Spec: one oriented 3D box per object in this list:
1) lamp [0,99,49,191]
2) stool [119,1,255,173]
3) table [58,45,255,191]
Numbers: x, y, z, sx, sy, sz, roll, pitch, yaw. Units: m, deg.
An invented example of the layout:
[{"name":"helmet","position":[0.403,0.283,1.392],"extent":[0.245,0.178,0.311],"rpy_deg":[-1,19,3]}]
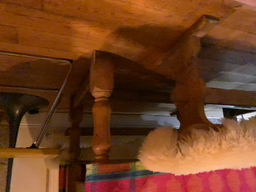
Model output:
[{"name":"lamp","position":[-0.900,0.910,1.500],"extent":[0.530,1.700,0.500],"rpy_deg":[4,162,-21]},{"name":"stool","position":[0.740,0.040,1.090],"extent":[1.500,0.560,0.390],"rpy_deg":[4,162,-21]},{"name":"table","position":[0.400,0.320,1.610],"extent":[1.660,0.770,0.910],"rpy_deg":[5,161,-23]}]
